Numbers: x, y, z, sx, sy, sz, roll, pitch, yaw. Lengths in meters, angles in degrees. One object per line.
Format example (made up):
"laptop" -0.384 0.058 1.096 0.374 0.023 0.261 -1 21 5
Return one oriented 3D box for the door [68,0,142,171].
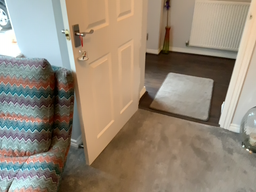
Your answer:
"door" -0.090 -0.460 1.420 0.060 1.960 0.800 14 34 21
